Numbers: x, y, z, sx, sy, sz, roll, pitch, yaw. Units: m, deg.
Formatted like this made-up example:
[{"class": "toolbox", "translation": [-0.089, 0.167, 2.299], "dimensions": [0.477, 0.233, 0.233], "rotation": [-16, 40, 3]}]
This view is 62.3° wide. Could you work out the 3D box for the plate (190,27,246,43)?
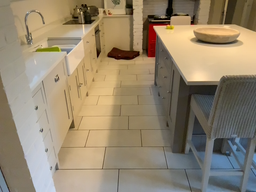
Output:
[{"class": "plate", "translation": [1.040, -0.730, 2.510], "dimensions": [0.470, 0.090, 0.450], "rotation": [-1, 28, 0]}]
